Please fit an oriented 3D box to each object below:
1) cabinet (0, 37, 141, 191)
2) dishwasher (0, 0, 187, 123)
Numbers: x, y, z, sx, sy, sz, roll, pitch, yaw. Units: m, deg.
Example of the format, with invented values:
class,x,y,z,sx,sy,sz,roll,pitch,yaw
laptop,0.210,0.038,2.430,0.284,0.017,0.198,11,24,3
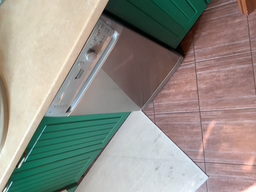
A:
class,x,y,z,sx,sy,sz,roll,pitch,yaw
cabinet,-0.540,0.180,1.390,0.580,0.860,0.790,46,112,24
dishwasher,-0.180,-0.270,1.170,0.620,0.860,0.440,46,112,24
